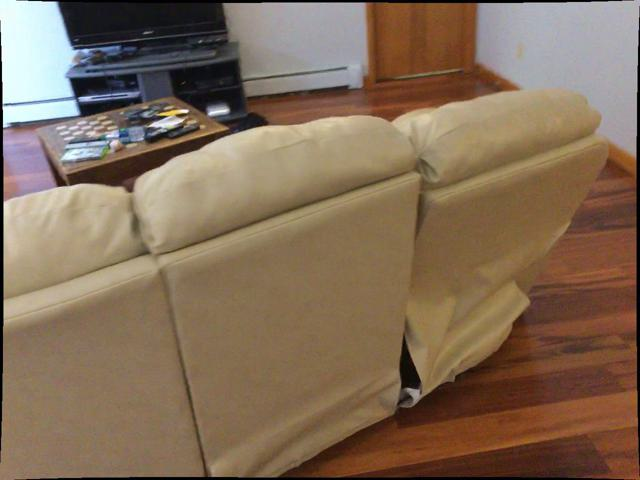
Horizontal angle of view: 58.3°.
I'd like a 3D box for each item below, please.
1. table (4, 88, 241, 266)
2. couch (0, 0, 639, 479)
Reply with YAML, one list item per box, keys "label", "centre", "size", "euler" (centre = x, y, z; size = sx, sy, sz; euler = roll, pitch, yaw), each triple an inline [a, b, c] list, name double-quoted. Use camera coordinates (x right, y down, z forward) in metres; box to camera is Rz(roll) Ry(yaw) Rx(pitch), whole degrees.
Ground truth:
- label: "table"
  centre: [-1.079, -0.410, 3.150]
  size: [0.890, 0.490, 0.900]
  euler: [-25, 35, -29]
- label: "couch"
  centre: [-0.909, -0.090, 2.090]
  size: [3.467, 1.011, 2.450]
  euler: [-9, 30, -6]
